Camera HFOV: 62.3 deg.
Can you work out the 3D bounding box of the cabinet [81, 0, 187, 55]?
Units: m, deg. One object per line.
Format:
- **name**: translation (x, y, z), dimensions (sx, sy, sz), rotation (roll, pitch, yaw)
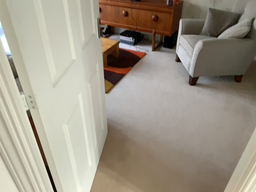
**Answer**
- **cabinet**: translation (0.050, -1.250, 3.430), dimensions (1.590, 0.690, 0.480), rotation (18, 39, 21)
